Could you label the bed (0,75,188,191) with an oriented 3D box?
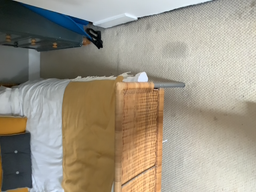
[{"bbox_3d":[-0.600,0.620,2.030,2.190,0.460,1.580,6,95,42],"label":"bed"}]
